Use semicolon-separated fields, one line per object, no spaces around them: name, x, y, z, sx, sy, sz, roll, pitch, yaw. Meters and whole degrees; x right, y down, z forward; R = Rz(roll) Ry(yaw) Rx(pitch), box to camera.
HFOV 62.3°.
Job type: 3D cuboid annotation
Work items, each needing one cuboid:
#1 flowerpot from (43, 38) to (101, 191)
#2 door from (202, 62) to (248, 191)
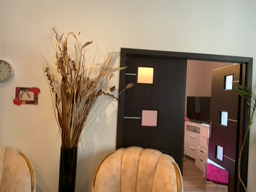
flowerpot;-0.570;0.460;2.150;0.480;1.990;0.200;3;0;-12
door;1.320;0.560;2.970;0.120;1.940;0.780;3;0;-6
